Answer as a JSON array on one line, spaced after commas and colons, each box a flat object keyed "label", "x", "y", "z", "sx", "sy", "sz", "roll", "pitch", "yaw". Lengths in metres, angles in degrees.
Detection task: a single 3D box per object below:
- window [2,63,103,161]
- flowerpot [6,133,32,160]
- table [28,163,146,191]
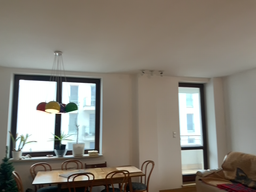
[{"label": "window", "x": -1.450, "y": 0.320, "z": 4.340, "sx": 1.830, "sy": 1.830, "sz": 0.220, "roll": 2, "pitch": -7, "yaw": -17}, {"label": "flowerpot", "x": -2.060, "y": 0.940, "z": 4.020, "sx": 0.360, "sy": 0.470, "sz": 0.260, "roll": 2, "pitch": -7, "yaw": -14}, {"label": "table", "x": -0.660, "y": 1.610, "z": 3.510, "sx": 1.730, "sy": 0.740, "sz": 0.840, "roll": 2, "pitch": -7, "yaw": -17}]
